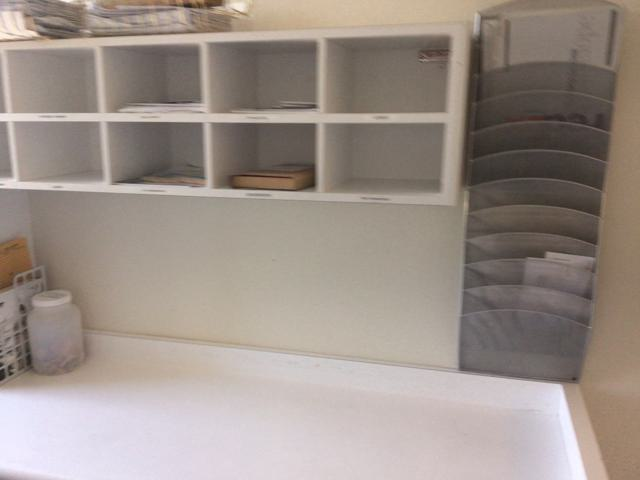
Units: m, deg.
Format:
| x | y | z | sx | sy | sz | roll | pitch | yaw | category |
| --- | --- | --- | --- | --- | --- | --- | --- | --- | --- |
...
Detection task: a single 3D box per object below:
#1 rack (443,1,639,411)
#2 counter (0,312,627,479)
| x | y | z | sx | sy | sz | roll | pitch | yaw | category |
| --- | --- | --- | --- | --- | --- | --- | --- | --- | --- |
| 0.500 | -0.070 | 1.400 | 0.340 | 0.910 | 0.190 | 4 | 12 | 10 | rack |
| -0.530 | 0.460 | 1.520 | 2.340 | 0.220 | 0.710 | 4 | 12 | 10 | counter |
